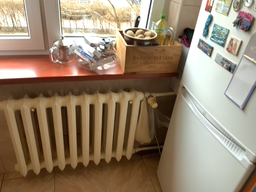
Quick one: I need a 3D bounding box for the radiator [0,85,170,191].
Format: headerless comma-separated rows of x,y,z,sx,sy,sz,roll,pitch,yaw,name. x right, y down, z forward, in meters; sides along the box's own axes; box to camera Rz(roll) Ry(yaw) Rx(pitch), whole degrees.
-0.250,0.280,1.400,0.940,0.670,0.160,-4,35,-17,radiator
